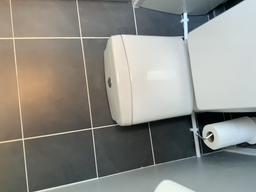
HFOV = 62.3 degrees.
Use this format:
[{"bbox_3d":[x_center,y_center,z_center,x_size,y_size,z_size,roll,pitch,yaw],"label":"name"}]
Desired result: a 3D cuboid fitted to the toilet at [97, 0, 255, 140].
[{"bbox_3d":[0.370,-0.120,0.860,0.710,0.810,0.390,163,100,-69],"label":"toilet"}]
